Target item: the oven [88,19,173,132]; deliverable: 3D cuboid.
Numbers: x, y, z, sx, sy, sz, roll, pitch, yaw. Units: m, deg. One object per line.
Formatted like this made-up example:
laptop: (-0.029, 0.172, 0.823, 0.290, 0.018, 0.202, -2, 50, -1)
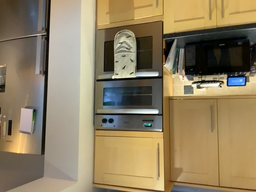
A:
oven: (0.070, -0.140, 2.070, 0.620, 0.890, 0.670, -1, 176, 21)
